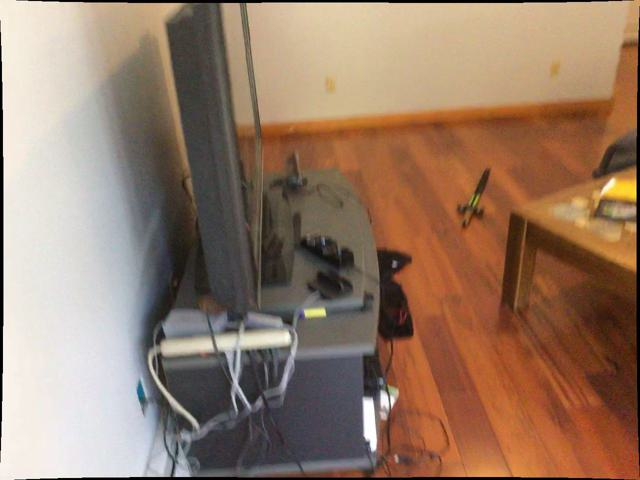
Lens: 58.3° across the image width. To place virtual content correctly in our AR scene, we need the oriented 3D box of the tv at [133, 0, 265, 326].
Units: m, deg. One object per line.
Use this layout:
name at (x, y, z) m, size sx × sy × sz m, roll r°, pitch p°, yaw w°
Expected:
tv at (-0.290, -0.390, 1.670) m, size 0.170 × 0.710 × 1.130 m, roll -5°, pitch 30°, yaw -4°

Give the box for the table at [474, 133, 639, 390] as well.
table at (1.279, 0.060, 2.120) m, size 0.890 × 0.480 × 0.990 m, roll -20°, pitch 34°, yaw -28°

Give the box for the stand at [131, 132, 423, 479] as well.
stand at (-0.150, 0.140, 1.990) m, size 0.659 × 0.590 × 1.270 m, roll -5°, pitch 30°, yaw -4°
